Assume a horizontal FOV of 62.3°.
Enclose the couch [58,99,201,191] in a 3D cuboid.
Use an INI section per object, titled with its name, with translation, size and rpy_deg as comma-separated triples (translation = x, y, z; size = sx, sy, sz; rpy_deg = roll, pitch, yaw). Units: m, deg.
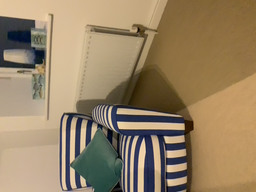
[couch]
translation = -0.080, 0.500, 1.710
size = 0.930, 0.840, 0.900
rpy_deg = -175, 86, -66
